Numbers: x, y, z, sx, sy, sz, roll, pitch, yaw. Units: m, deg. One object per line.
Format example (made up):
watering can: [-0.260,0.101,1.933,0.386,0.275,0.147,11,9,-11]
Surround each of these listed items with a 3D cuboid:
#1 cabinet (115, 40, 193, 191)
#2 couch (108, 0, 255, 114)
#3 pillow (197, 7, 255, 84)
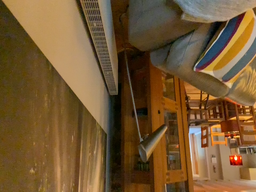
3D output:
cabinet: [0.300,0.400,2.580,0.530,1.900,0.760,-15,159,38]
couch: [0.910,-0.460,1.650,1.780,0.790,1.160,14,158,-41]
pillow: [0.680,-0.310,1.340,0.430,0.440,0.120,35,117,-24]
